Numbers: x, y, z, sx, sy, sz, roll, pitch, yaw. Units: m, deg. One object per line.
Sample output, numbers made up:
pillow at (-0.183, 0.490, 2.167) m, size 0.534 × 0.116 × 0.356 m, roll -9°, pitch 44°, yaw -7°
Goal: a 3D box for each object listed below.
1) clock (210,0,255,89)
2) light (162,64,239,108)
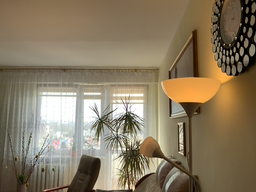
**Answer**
clock at (0.480, -0.340, 0.850) m, size 0.120 × 0.560 × 0.480 m, roll 1°, pitch -6°, yaw 1°
light at (0.320, -0.030, 1.050) m, size 0.260 × 0.160 × 0.390 m, roll 1°, pitch -6°, yaw 3°
